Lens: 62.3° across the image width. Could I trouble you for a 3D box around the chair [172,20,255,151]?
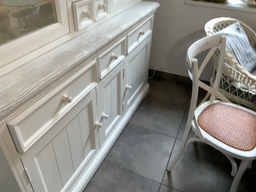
[{"bbox_3d":[0.880,-0.130,1.810,0.610,0.760,0.640,-28,45,-35],"label":"chair"}]
